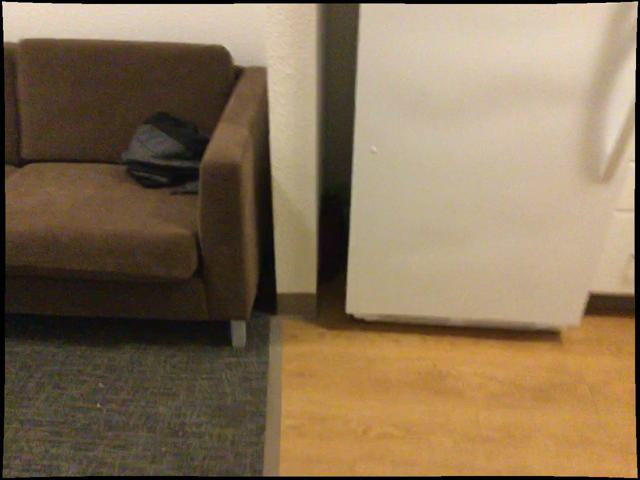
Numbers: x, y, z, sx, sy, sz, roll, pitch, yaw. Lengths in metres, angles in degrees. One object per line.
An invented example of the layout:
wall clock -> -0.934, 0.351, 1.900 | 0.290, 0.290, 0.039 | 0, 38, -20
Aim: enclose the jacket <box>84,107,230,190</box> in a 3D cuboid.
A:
jacket -> -0.509, -0.300, 1.870 | 0.380, 0.170, 0.250 | 2, 33, 3
